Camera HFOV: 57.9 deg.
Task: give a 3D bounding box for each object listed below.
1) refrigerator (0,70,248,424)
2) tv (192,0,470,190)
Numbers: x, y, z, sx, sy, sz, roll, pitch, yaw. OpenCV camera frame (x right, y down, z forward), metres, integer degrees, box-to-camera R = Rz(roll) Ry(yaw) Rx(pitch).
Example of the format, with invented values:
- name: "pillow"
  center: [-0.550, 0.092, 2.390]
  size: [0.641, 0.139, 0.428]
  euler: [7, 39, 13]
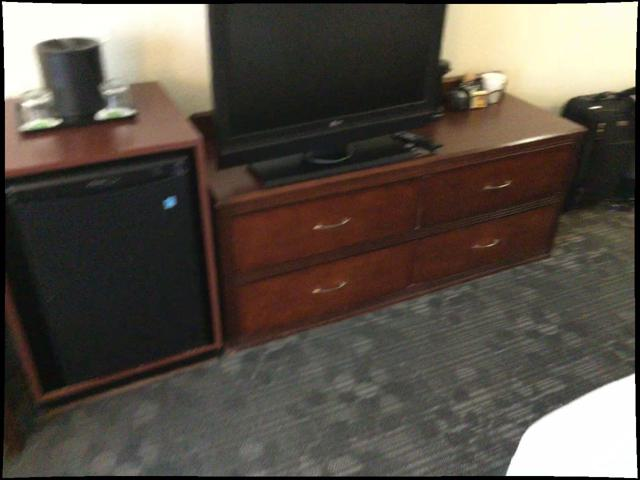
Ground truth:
- name: "refrigerator"
  center: [-0.649, -0.020, 1.850]
  size: [0.620, 0.811, 0.630]
  euler: [-14, 36, -22]
- name: "tv"
  center: [0.050, -0.521, 1.800]
  size: [0.819, 0.560, 0.180]
  euler: [-14, 36, -22]
